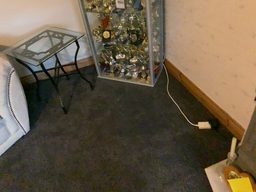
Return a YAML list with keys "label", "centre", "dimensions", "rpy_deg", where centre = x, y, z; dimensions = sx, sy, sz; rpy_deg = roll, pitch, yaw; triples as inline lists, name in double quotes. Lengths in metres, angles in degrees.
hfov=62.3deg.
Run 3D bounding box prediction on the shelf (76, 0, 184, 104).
- label: "shelf"
  centre: [-0.050, -0.880, 1.760]
  dimensions: [0.710, 1.660, 0.770]
  rpy_deg: [-19, 43, -11]
